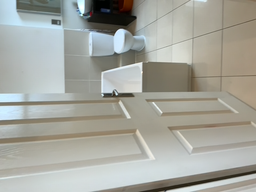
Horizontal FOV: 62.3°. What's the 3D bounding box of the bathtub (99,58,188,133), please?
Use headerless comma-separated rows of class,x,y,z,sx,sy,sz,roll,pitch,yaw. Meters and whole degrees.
bathtub,0.060,-0.040,2.910,1.730,0.560,0.710,-173,83,-70
